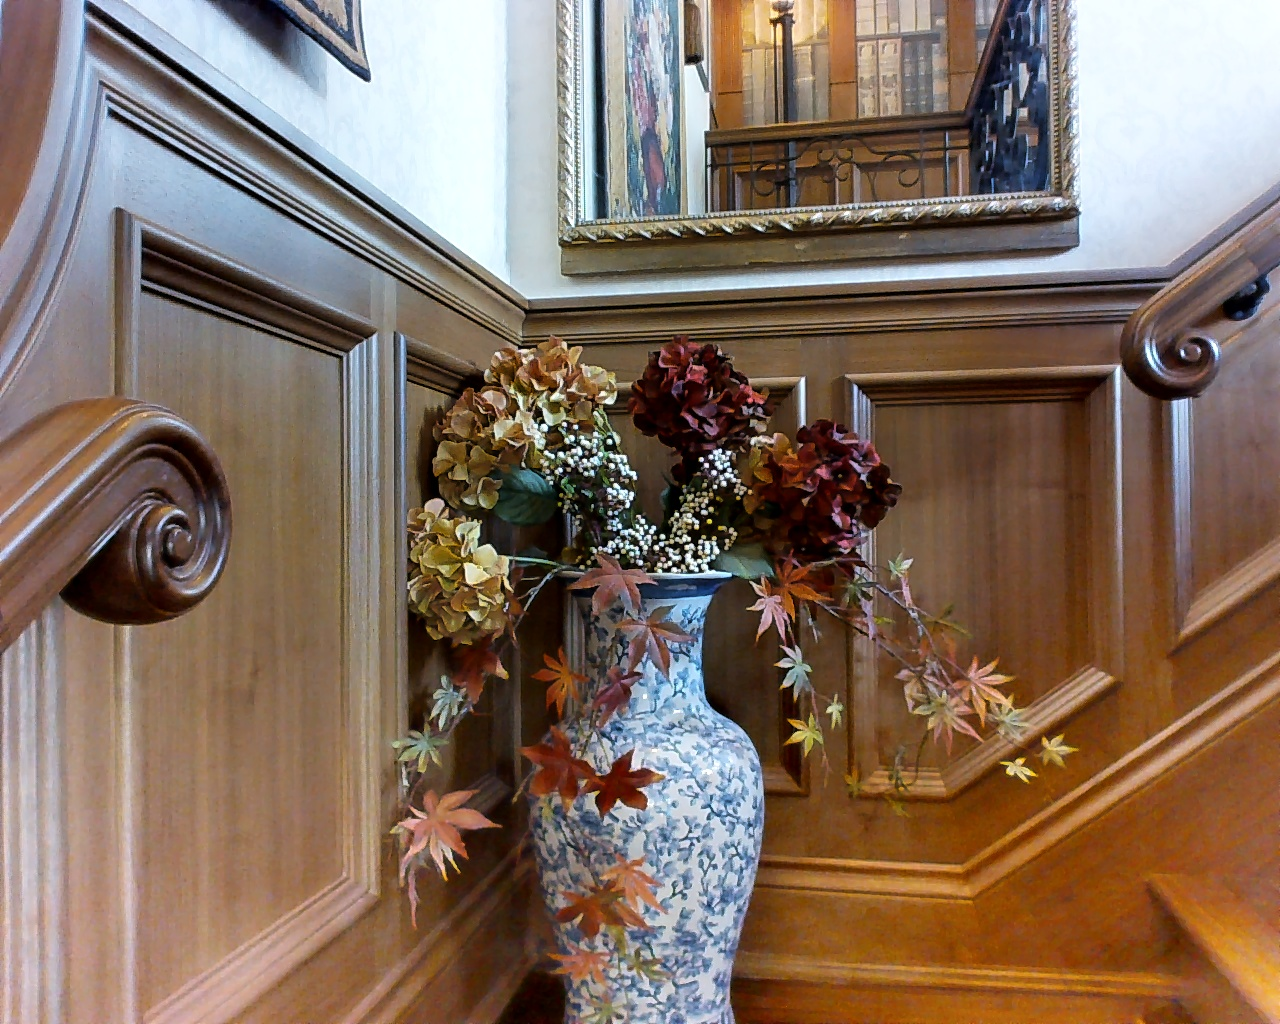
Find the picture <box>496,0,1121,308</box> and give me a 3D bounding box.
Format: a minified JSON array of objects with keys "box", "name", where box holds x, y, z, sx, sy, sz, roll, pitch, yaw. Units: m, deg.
[{"box":[0.240,-1.080,1.720,0.950,1.450,0.100,-1,-1,10],"name":"picture"}]
